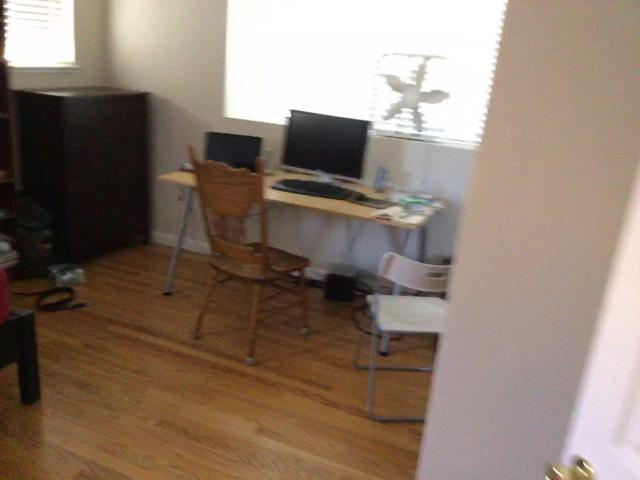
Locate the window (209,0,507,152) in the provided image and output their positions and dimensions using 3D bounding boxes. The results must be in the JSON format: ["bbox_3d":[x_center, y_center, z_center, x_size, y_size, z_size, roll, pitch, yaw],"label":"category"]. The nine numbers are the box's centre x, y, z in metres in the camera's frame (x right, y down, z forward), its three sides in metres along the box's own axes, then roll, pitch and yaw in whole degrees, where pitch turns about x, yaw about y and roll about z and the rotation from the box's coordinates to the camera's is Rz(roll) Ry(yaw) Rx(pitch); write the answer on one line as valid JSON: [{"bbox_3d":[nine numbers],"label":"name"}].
[{"bbox_3d":[0.200,-1.220,3.750,1.790,1.020,0.450,12,16,20],"label":"window"}]

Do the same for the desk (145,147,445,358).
[{"bbox_3d":[-0.160,-0.020,3.630,1.610,0.860,0.820,12,16,20],"label":"desk"}]

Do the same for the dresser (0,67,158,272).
[{"bbox_3d":[-1.650,-0.520,4.050,0.550,1.230,0.840,12,16,20],"label":"dresser"}]
